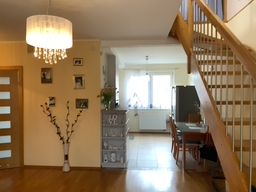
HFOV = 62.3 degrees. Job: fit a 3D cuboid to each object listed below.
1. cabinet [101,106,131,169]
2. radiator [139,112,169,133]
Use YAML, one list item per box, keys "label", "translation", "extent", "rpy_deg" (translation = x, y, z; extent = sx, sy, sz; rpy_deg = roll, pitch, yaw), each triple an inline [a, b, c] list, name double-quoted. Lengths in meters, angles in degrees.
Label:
- label: "cabinet"
  translation: [-0.240, 0.840, 4.630]
  extent: [0.530, 1.190, 0.820]
  rpy_deg: [0, 2, 5]
- label: "radiator"
  translation: [0.950, 0.970, 7.780]
  extent: [1.050, 0.730, 0.150]
  rpy_deg: [0, 2, 6]
